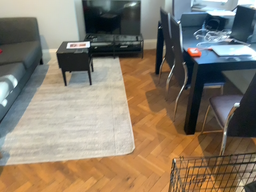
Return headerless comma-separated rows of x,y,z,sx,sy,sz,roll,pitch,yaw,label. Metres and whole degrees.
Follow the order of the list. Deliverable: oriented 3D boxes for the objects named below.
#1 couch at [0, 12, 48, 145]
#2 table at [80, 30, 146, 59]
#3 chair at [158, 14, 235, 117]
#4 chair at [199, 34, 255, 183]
-1.790,-0.390,2.600,0.990,0.780,2.060,-4,33,-5,couch
-0.260,-0.940,3.820,1.100,0.360,0.380,-3,33,-5,table
0.640,-0.290,2.210,0.520,1.000,0.360,-2,33,-2,chair
0.870,0.110,1.610,0.380,0.990,0.530,3,33,5,chair
